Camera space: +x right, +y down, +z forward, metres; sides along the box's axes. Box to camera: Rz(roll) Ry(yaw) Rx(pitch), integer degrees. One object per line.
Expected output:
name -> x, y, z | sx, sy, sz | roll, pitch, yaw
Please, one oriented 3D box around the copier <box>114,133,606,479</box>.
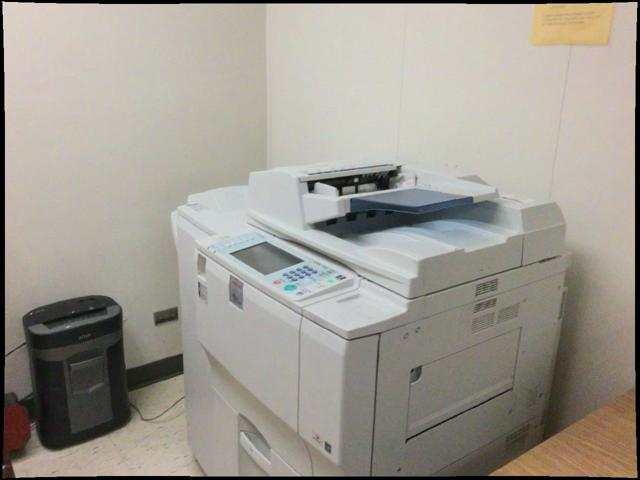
copier -> 0.010, 0.331, 1.880 | 0.839, 1.193, 1.259 | -11, 20, -36
